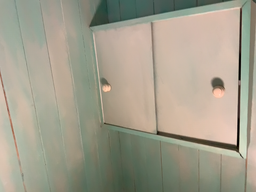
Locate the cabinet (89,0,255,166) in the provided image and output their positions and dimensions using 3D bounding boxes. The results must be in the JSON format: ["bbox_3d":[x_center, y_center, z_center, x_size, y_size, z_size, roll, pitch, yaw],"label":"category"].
[{"bbox_3d":[0.130,-0.060,0.820,0.600,0.480,0.130,6,-163,38],"label":"cabinet"}]
